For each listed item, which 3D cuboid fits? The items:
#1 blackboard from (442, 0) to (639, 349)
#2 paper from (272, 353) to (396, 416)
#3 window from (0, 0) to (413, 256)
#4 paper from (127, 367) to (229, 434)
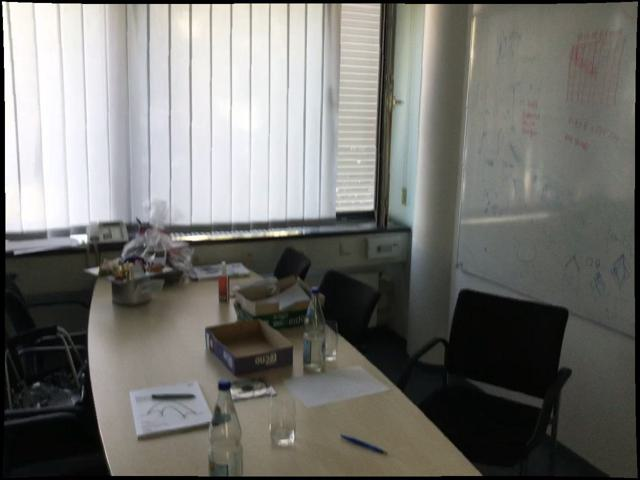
[{"bbox_3d":[1.169,-0.360,2.290,0.150,1.461,2.140,-6,15,-21],"label":"blackboard"},{"bbox_3d":[0.040,0.450,1.840,0.330,0.040,0.230,-7,15,-21],"label":"paper"},{"bbox_3d":[-1.099,-1.001,3.260,3.537,2.012,0.280,-7,14,-20],"label":"window"},{"bbox_3d":[-0.430,0.470,1.730,0.260,0.030,0.260,-7,15,-21],"label":"paper"}]
